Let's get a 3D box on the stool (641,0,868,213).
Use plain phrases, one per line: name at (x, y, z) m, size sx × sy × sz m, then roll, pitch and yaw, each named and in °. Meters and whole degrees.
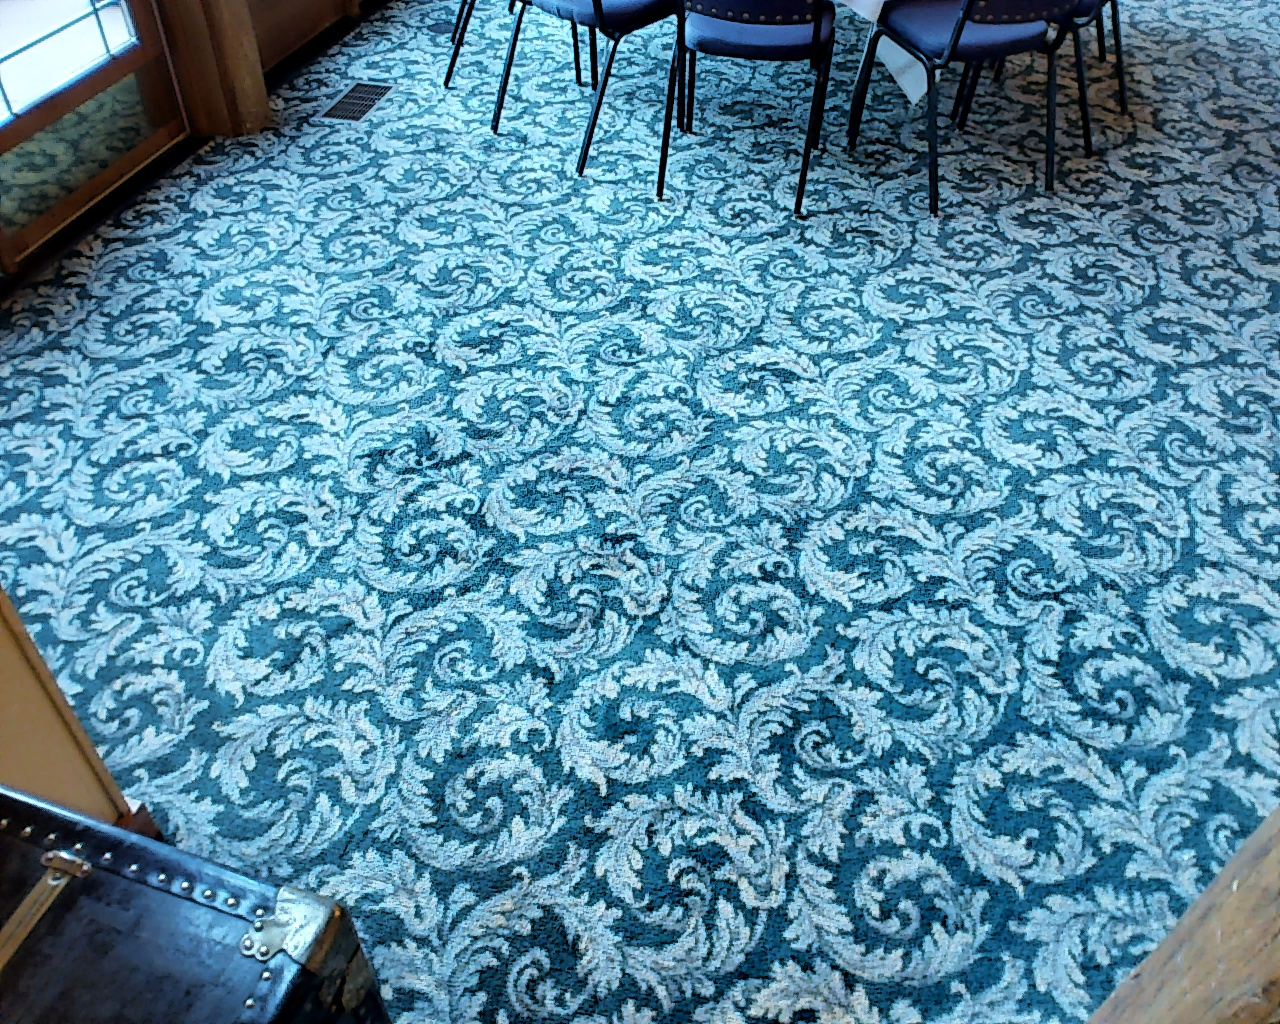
stool at (0.350, -1.430, 3.190) m, size 0.560 × 0.840 × 0.500 m, roll 13°, pitch 45°, yaw 13°
